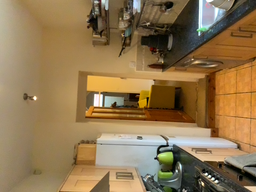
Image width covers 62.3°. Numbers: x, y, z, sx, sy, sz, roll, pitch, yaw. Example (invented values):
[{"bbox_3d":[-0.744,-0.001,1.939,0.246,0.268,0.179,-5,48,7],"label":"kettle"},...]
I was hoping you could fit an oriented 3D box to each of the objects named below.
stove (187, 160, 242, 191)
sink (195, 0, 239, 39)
[{"bbox_3d":[0.610,0.860,1.620,0.720,0.060,0.540,156,117,-84],"label":"stove"},{"bbox_3d":[0.760,-0.780,1.850,0.400,0.180,0.440,157,117,-84],"label":"sink"}]
